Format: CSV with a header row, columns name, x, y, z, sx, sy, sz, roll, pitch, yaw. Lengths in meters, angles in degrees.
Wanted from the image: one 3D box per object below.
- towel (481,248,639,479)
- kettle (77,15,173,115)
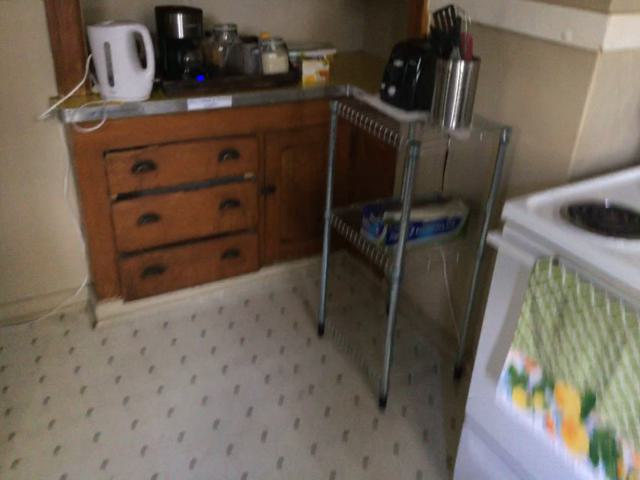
name,x,y,z,sx,sy,sz,roll,pitch,yaw
towel,0.500,0.290,1.120,0.080,0.440,0.340,-10,30,-26
kettle,-0.670,-0.610,1.990,0.240,0.270,0.290,-10,30,-26
